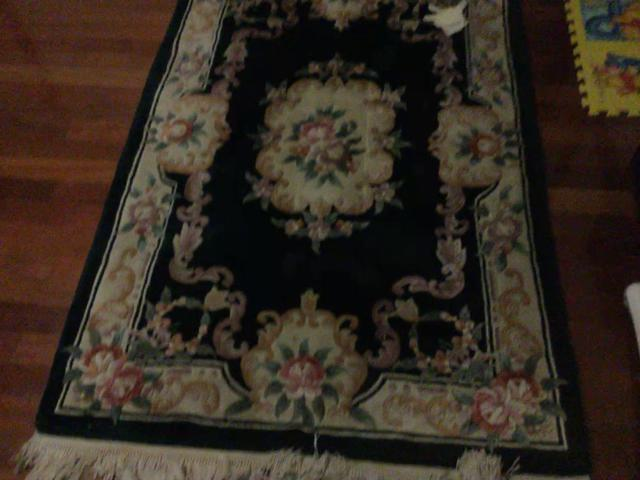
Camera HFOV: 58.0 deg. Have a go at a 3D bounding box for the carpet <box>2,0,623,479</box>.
[{"bbox_3d":[0.050,-0.310,1.730,1.260,0.110,1.920,3,57,4],"label":"carpet"}]
